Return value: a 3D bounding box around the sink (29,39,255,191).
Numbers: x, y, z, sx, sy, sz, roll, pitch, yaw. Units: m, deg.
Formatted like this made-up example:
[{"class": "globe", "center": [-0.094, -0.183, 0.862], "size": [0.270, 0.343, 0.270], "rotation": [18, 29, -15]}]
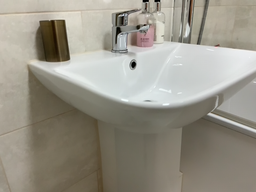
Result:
[{"class": "sink", "center": [0.100, -0.020, 0.620], "size": [0.560, 0.180, 0.450], "rotation": [-22, 31, -40]}]
